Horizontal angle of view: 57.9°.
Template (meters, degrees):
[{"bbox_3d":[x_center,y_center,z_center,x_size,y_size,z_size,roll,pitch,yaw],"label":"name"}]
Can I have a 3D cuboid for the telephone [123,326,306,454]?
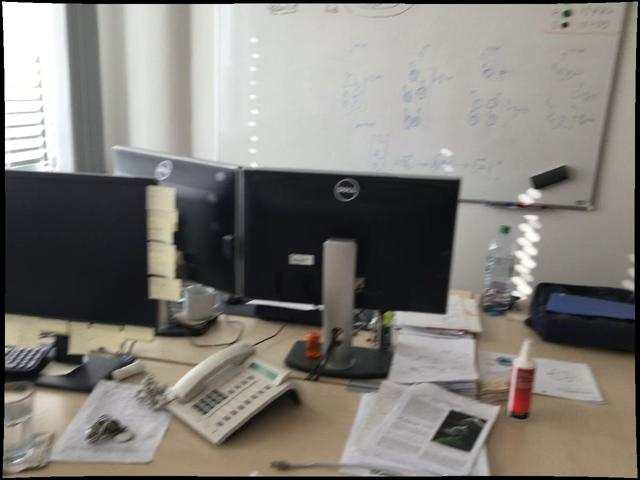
[{"bbox_3d":[-0.220,0.320,1.300,0.310,0.100,0.290,6,18,13],"label":"telephone"}]
